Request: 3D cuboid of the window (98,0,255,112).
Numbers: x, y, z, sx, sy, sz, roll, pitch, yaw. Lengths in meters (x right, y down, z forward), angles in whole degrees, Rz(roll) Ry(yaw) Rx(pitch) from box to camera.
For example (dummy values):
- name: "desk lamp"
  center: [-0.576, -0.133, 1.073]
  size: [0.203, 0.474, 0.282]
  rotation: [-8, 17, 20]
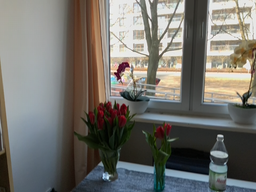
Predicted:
- name: "window"
  center: [0.910, -0.610, 1.780]
  size: [2.440, 1.440, 0.250]
  rotation: [3, 10, 19]
